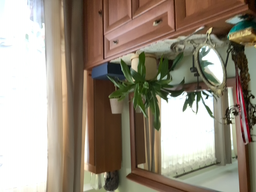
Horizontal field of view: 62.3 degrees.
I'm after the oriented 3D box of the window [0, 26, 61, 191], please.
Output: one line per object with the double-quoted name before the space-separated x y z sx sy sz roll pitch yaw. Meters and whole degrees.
"window" -1.290 0.310 1.620 1.540 1.800 0.160 2 175 -40
